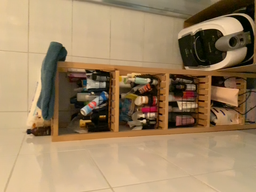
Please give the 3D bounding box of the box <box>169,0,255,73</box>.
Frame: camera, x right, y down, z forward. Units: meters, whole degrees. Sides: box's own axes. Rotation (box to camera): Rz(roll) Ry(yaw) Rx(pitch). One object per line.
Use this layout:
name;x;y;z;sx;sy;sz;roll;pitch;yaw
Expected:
box;0.690;-0.380;1.410;0.620;0.550;0.390;-174;85;-68
